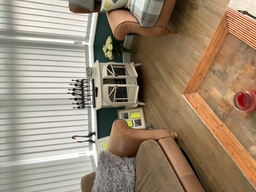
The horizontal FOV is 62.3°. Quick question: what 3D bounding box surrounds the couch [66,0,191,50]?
[{"bbox_3d":[-0.020,-1.130,2.090,0.870,0.990,0.990,-119,36,-46],"label":"couch"}]
